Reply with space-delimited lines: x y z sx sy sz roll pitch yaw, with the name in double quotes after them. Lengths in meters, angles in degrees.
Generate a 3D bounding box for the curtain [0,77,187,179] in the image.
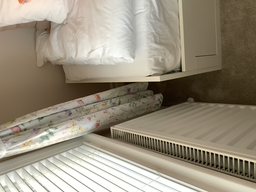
-0.680 0.200 0.580 0.360 2.520 0.180 -2 99 47 "curtain"
